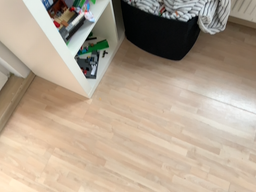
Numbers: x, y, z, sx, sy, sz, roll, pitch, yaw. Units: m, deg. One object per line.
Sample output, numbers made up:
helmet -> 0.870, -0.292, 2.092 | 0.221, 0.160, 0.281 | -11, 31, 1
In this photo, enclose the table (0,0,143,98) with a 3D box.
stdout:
table -> -0.260, -0.570, 1.040 | 0.450, 0.800, 0.840 | 20, 72, 10
